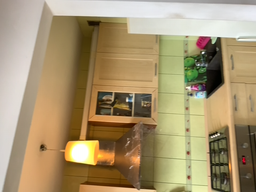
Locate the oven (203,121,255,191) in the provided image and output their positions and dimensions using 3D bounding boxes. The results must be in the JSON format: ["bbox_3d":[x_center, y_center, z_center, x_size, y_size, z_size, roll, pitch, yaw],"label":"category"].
[{"bbox_3d":[1.180,0.620,2.040,0.580,0.690,0.620,86,-172,-72],"label":"oven"}]

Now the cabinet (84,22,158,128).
[{"bbox_3d":[-0.040,-0.260,2.500,0.320,0.740,1.180,86,-172,-72],"label":"cabinet"}]

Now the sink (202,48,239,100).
[{"bbox_3d":[0.980,-0.220,2.300,0.470,0.190,0.400,86,-172,-72],"label":"sink"}]

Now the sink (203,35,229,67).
[{"bbox_3d":[0.980,-0.500,2.390,0.370,0.150,0.190,86,-172,-72],"label":"sink"}]
